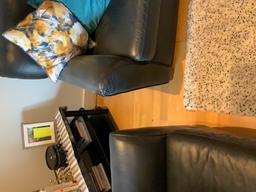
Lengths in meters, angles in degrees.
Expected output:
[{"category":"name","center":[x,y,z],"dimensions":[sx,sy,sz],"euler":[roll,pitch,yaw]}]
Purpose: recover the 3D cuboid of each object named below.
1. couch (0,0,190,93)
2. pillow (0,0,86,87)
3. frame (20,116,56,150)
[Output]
[{"category":"couch","center":[-0.300,-1.070,1.450],"dimensions":[1.140,0.910,2.040],"euler":[5,94,45]},{"category":"pillow","center":[-0.560,-0.350,1.360],"dimensions":[0.460,0.350,0.180],"euler":[-57,43,5]},{"category":"frame","center":[-0.730,0.290,1.710],"dimensions":[0.200,0.190,0.190],"euler":[20,104,44]}]
